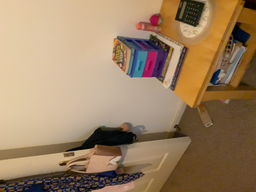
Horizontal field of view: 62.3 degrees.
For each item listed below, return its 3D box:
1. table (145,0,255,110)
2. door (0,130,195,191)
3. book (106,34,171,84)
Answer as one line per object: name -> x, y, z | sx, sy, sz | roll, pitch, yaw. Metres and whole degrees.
table -> 0.480, -0.280, 1.210 | 0.490, 0.490, 0.510 | 53, 137, 50
door -> -0.480, 0.720, 1.580 | 0.090, 2.000, 0.960 | 58, 140, 45
book -> 0.050, -0.210, 1.220 | 0.220, 0.260, 0.200 | 51, 135, 50
